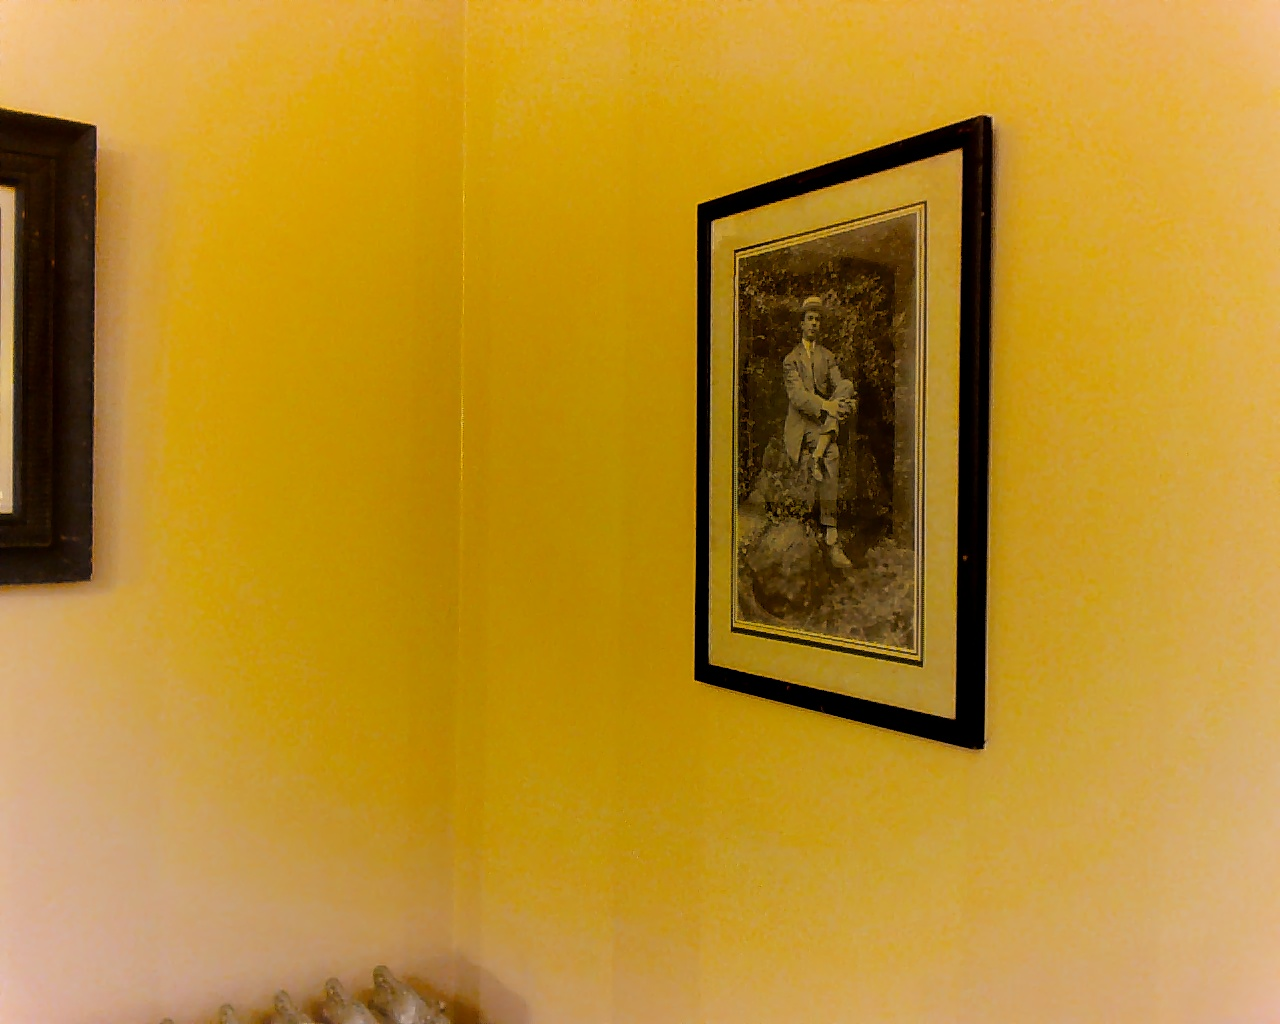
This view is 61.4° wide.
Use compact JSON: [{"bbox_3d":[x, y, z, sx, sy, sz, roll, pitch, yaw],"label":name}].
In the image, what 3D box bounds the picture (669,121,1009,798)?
[{"bbox_3d":[0.150,-0.040,0.930,0.020,0.490,0.360,1,0,-37],"label":"picture"}]
